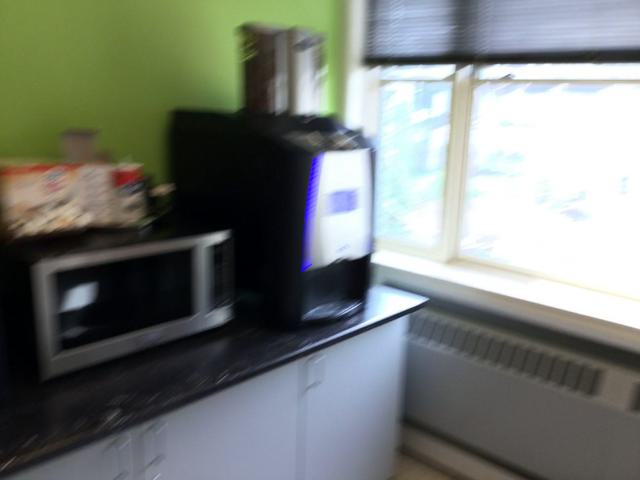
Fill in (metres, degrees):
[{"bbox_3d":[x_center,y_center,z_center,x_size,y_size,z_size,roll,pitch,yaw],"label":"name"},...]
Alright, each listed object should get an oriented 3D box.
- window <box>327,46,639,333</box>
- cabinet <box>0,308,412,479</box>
[{"bbox_3d":[0.930,-0.220,2.200,2.040,0.930,0.320,12,14,39],"label":"window"},{"bbox_3d":[-0.290,0.790,1.700,0.120,0.820,1.800,12,14,39],"label":"cabinet"}]
